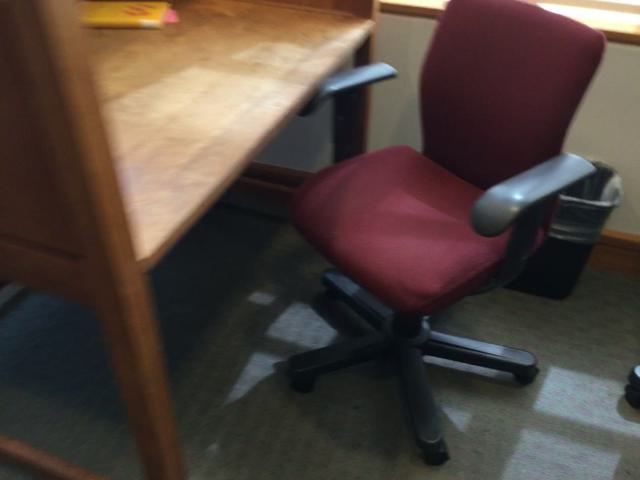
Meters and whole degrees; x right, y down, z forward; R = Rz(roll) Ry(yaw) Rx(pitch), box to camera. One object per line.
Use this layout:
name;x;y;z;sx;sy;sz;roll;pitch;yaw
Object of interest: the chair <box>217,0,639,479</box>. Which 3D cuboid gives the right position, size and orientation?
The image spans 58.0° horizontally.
chair;0.250;-0.040;1.360;0.650;0.920;0.690;-25;46;-32
